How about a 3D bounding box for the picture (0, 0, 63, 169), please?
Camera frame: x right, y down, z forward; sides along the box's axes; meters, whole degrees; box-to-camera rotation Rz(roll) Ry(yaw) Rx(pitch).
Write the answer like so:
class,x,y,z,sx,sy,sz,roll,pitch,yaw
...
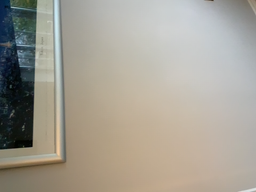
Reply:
class,x,y,z,sx,sy,sz,roll,pitch,yaw
picture,-0.510,-0.210,0.960,0.060,0.380,1.030,120,144,-59
